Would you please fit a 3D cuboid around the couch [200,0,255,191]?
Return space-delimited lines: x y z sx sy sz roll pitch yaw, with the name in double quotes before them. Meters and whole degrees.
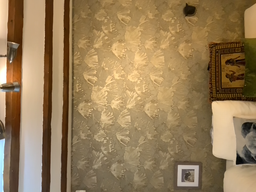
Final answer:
"couch" 1.220 0.060 1.910 1.030 0.730 2.060 -149 60 -89
